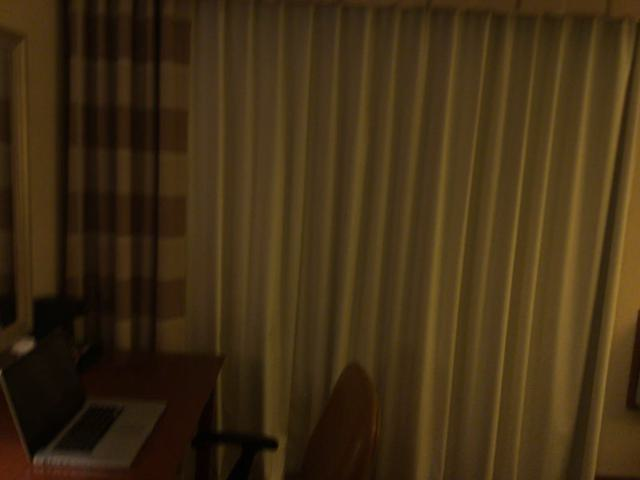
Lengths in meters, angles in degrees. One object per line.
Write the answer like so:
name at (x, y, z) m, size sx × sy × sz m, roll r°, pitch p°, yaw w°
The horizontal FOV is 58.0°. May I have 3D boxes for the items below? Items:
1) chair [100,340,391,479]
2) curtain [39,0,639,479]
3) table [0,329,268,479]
chair at (-0.180, 0.700, 1.640) m, size 0.650 × 0.620 × 0.610 m, roll 3°, pitch 9°, yaw 0°
curtain at (0.180, 0.010, 2.340) m, size 2.400 × 2.340 × 0.420 m, roll 3°, pitch 9°, yaw 0°
table at (-0.660, 0.860, 1.710) m, size 0.850 × 0.770 × 1.290 m, roll 3°, pitch 9°, yaw 0°
